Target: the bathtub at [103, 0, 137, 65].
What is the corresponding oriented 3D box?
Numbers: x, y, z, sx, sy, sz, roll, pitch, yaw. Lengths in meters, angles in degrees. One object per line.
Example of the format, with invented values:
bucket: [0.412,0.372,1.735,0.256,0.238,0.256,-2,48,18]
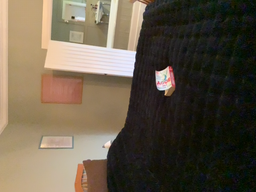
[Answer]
bathtub: [-0.230,-2.040,5.860,0.950,0.570,2.170,-134,50,-68]
